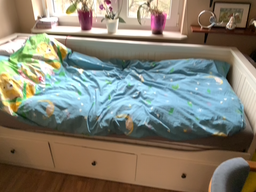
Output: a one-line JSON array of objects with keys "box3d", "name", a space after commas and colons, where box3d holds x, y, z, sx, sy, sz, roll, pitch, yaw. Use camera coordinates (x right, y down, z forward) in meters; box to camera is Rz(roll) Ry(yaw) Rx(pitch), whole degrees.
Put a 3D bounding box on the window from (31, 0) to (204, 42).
[{"box3d": [-0.130, -1.300, 1.850, 1.690, 1.530, 0.080, 6, 31, 6], "name": "window"}]
